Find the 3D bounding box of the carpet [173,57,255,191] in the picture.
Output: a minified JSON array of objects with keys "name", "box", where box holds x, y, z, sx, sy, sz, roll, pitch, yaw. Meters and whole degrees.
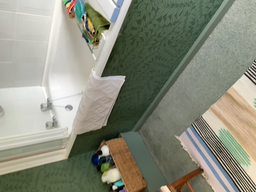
[{"name":"carpet","box":[0.580,0.170,1.010,0.460,0.020,0.870,59,137,30]}]
